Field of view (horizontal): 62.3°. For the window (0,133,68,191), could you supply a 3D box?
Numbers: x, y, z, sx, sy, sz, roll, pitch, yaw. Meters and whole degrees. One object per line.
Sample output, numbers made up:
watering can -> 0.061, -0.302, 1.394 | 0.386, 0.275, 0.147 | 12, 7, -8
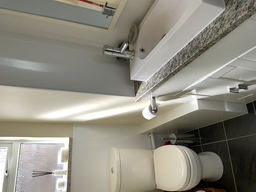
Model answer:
window -> -1.040, 0.640, 1.770 | 0.140, 0.990, 0.630 | 138, 134, -59

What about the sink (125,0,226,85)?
sink -> 0.160, -0.310, 1.010 | 0.590, 0.130, 0.300 | 139, 133, -60
